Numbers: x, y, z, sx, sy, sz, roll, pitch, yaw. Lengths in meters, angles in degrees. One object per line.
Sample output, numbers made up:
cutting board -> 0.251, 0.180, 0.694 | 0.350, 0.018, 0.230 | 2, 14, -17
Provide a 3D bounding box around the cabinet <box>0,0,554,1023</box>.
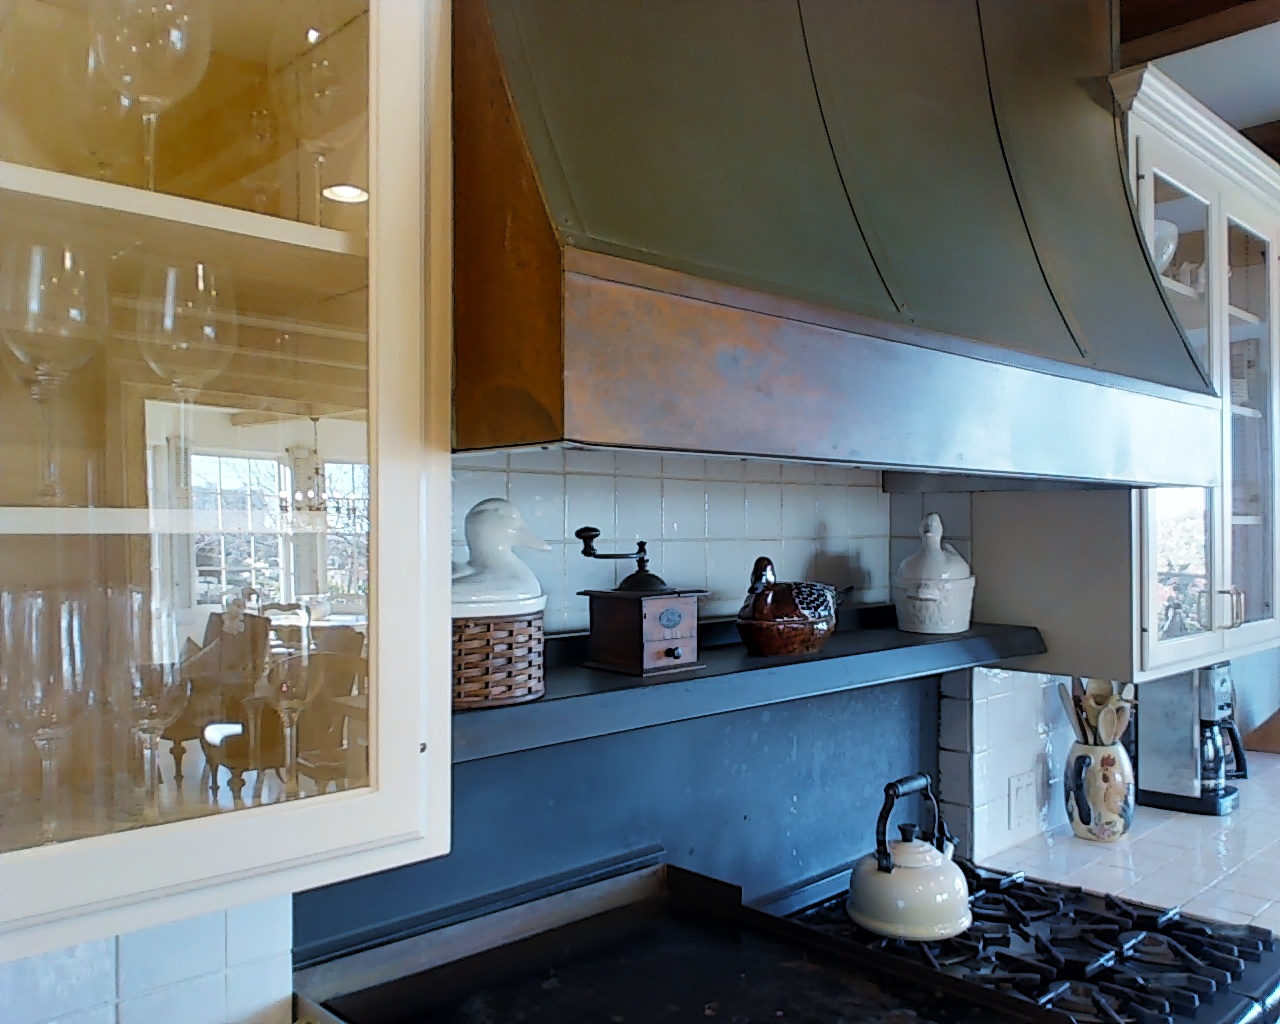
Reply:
cabinet -> -0.880, -0.280, 0.480 | 1.860, 1.230, 0.370 | 1, -1, -44
